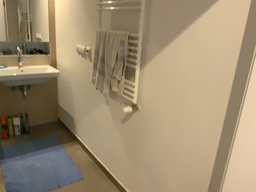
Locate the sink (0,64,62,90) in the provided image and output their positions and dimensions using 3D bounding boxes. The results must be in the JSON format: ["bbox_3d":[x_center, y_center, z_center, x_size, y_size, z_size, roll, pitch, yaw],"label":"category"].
[{"bbox_3d":[-1.280,-0.250,2.600,0.780,0.170,0.480,-9,23,-36],"label":"sink"}]

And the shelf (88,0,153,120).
[{"bbox_3d":[-0.090,-0.500,1.630,0.140,1.210,0.610,-9,23,-36],"label":"shelf"}]

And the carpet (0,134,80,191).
[{"bbox_3d":[-0.990,0.710,2.280,0.590,0.020,1.020,-8,22,-33],"label":"carpet"}]
